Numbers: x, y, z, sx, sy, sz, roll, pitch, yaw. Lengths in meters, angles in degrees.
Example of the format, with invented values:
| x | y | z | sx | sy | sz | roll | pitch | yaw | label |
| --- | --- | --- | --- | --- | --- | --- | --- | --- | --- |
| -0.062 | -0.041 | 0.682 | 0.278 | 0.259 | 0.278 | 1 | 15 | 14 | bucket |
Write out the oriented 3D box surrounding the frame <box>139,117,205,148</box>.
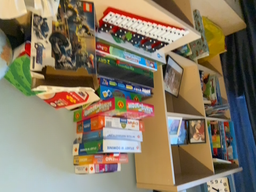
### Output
| x | y | z | sx | sy | sz | roll | pitch | yaw | label |
| --- | --- | --- | --- | --- | --- | --- | --- | --- | --- |
| 0.280 | 0.240 | 1.360 | 0.330 | 0.160 | 0.250 | 9 | 161 | -41 | frame |

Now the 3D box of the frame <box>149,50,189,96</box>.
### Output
| x | y | z | sx | sy | sz | roll | pitch | yaw | label |
| --- | --- | --- | --- | --- | --- | --- | --- | --- | --- |
| 0.280 | -0.140 | 1.410 | 0.100 | 0.210 | 0.290 | -1 | 165 | 44 | frame |

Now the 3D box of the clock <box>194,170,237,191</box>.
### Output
| x | y | z | sx | sy | sz | roll | pitch | yaw | label |
| --- | --- | --- | --- | --- | --- | --- | --- | --- | --- |
| 0.640 | 0.680 | 1.530 | 0.310 | 0.240 | 0.150 | 9 | 161 | -41 | clock |
